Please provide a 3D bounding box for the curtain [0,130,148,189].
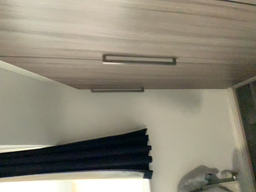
[{"bbox_3d":[-0.410,0.390,1.340,0.120,1.080,0.270,134,133,-66],"label":"curtain"}]
